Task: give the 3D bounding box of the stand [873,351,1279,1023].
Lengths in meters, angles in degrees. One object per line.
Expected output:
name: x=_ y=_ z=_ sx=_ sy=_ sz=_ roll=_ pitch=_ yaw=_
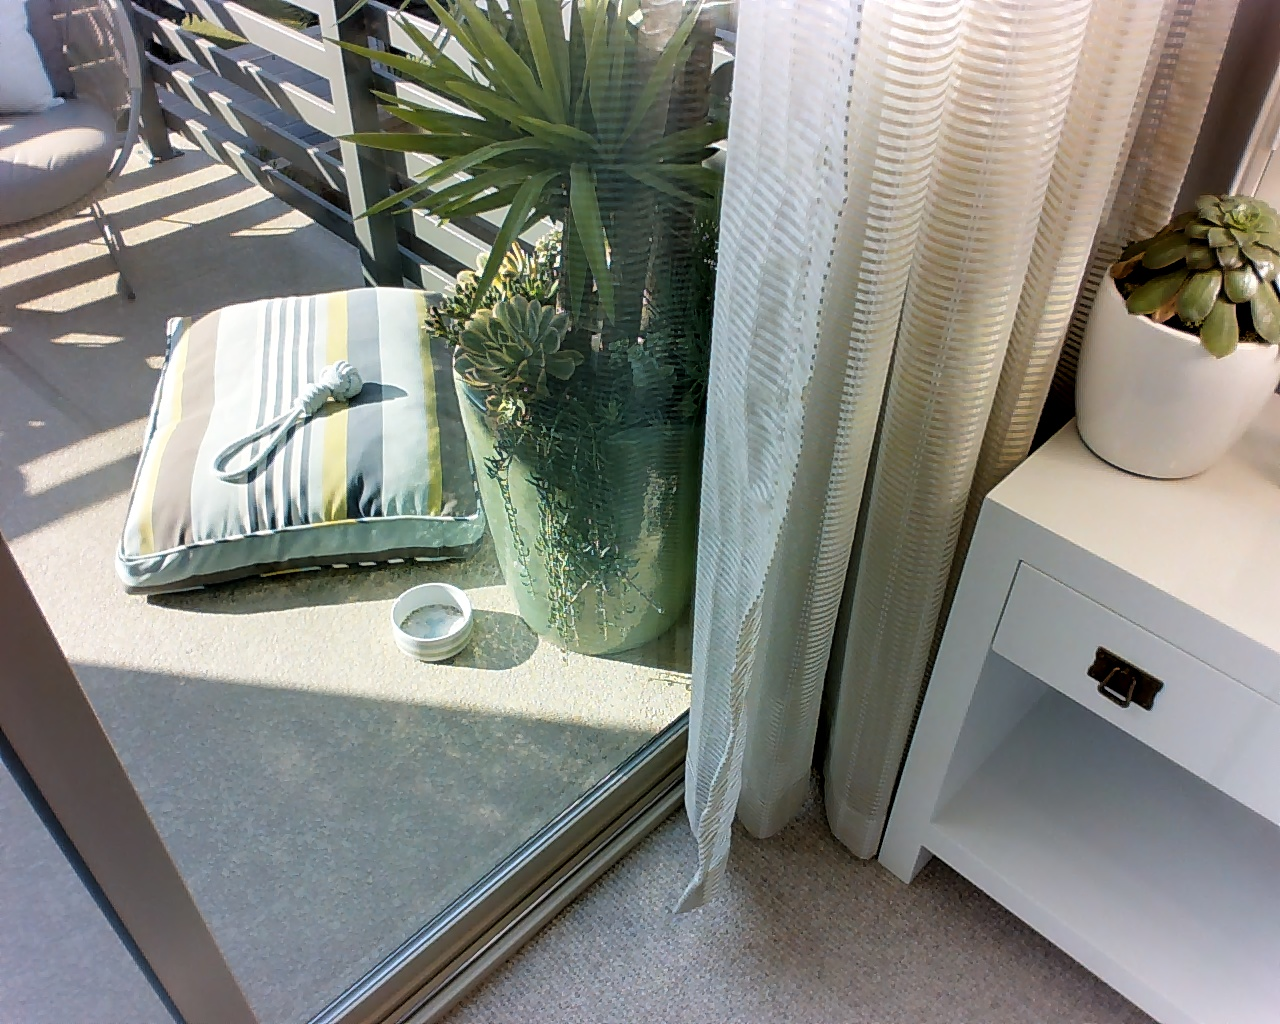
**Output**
stand: x=0.820 y=0.370 z=1.300 sx=0.430 sy=0.740 sz=0.870 roll=-33 pitch=50 yaw=-32
